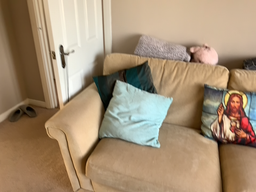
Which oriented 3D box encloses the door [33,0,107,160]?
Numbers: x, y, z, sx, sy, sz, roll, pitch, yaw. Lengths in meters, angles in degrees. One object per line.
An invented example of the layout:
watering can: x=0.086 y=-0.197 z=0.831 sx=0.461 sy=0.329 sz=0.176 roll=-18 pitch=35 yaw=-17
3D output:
door: x=-0.400 y=-0.480 z=1.700 sx=0.100 sy=1.950 sz=0.740 roll=11 pitch=28 yaw=18

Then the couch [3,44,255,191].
couch: x=0.620 y=0.320 z=1.520 sx=2.460 sy=0.900 sz=1.100 roll=10 pitch=28 yaw=17
